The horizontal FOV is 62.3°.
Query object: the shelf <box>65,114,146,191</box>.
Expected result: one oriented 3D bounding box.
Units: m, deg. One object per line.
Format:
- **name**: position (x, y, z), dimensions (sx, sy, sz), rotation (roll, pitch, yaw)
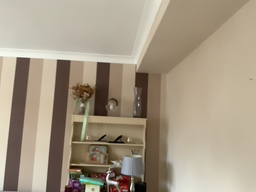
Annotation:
- **shelf**: position (-0.260, 0.700, 2.670), dimensions (0.930, 0.900, 0.190), rotation (3, -6, -2)
